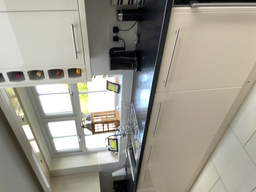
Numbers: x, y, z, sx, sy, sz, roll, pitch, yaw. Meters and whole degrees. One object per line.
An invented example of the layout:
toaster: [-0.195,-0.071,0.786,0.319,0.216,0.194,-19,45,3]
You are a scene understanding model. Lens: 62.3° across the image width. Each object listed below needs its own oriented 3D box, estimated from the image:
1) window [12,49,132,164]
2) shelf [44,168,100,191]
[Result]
window: [-0.620,0.270,2.890,0.230,1.200,1.880,-105,14,-45]
shelf: [-0.850,1.400,3.290,0.350,0.790,0.250,-105,14,-45]
